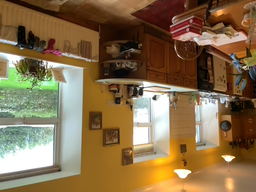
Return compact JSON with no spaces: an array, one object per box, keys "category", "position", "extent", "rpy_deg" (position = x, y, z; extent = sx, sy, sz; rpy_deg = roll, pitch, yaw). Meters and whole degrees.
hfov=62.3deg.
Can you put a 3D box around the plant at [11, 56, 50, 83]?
[{"category":"plant","position":[-1.310,-0.340,2.850],"extent":[0.380,0.250,0.360],"rpy_deg":[5,172,-43]}]

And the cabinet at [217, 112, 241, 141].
[{"category":"cabinet","position":[2.990,0.880,6.260],"extent":[0.920,0.770,0.310],"rpy_deg":[5,172,-43]}]

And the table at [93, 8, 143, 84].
[{"category":"table","position":[-0.160,-0.700,3.240],"extent":[0.480,0.940,0.600],"rpy_deg":[4,173,-43]}]
